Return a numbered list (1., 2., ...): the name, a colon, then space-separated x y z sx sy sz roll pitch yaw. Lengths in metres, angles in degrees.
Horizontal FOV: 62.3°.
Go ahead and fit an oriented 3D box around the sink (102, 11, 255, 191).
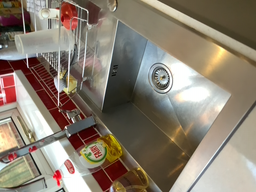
1. sink: 0.120 0.030 0.760 0.460 0.130 0.490 43 135 32
